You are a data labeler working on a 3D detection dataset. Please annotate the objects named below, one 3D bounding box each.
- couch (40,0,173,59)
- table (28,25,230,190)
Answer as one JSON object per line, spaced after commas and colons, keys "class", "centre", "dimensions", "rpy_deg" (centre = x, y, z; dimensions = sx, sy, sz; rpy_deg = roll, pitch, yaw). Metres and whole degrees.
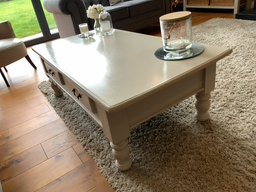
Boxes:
{"class": "couch", "centre": [-0.270, -1.270, 3.220], "dimensions": [1.690, 0.740, 0.920], "rpy_deg": [-26, 34, -26]}
{"class": "table", "centre": [-0.110, -0.120, 1.480], "dimensions": [0.700, 0.470, 1.270], "rpy_deg": [-26, 34, -27]}
